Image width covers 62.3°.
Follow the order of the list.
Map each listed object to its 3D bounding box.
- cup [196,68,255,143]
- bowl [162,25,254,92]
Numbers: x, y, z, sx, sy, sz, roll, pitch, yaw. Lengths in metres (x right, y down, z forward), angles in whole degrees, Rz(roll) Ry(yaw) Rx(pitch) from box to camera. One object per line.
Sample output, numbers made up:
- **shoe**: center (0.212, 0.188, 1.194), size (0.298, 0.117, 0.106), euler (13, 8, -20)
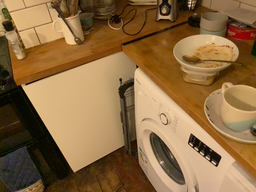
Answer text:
- **cup**: center (0.330, 0.020, 0.630), size (0.170, 0.090, 0.160), euler (-21, 44, -16)
- **bowl**: center (0.300, -0.160, 0.840), size (0.240, 0.100, 0.230), euler (-22, 44, -17)
